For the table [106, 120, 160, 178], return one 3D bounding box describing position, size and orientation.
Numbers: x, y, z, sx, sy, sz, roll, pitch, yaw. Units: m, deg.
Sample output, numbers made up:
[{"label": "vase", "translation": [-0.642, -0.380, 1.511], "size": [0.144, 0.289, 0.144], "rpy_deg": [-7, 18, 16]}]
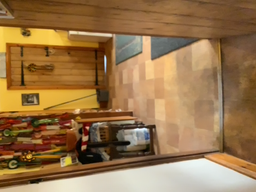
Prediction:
[{"label": "table", "translation": [0.050, 0.620, 2.620], "size": [0.400, 0.550, 0.550], "rpy_deg": [-175, 84, -70]}]
